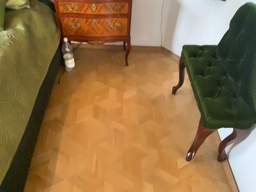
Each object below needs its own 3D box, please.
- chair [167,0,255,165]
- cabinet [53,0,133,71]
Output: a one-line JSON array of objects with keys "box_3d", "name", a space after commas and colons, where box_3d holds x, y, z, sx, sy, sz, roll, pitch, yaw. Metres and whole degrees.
[{"box_3d": [0.540, -0.090, 1.370, 0.310, 0.870, 0.710, 2, 47, -3], "name": "chair"}, {"box_3d": [-0.280, -0.620, 1.940, 0.590, 0.660, 0.390, 2, 47, -4], "name": "cabinet"}]
